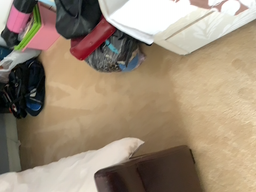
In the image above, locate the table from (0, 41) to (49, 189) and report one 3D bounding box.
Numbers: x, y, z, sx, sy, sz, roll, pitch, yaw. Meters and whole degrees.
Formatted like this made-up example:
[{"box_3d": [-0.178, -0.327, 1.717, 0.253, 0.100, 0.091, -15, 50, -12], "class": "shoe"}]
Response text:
[{"box_3d": [-1.380, 0.170, 2.110, 0.440, 0.790, 1.460, -27, 71, 35], "class": "table"}]
